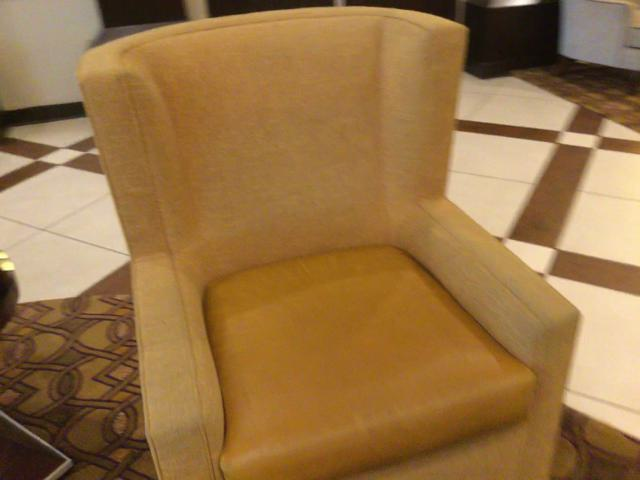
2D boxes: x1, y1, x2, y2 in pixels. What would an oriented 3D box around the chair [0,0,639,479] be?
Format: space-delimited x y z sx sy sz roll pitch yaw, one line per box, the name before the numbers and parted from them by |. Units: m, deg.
chair | -0.040 0.080 1.370 0.920 1.110 0.920 -11 31 -15
